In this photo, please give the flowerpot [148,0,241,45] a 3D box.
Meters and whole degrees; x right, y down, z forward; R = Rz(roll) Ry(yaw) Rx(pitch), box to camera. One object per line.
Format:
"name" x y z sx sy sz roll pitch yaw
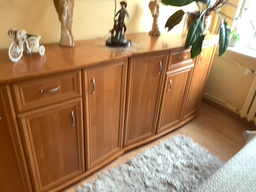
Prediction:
"flowerpot" 0.630 -0.750 1.990 0.790 0.350 0.390 -18 37 -35
